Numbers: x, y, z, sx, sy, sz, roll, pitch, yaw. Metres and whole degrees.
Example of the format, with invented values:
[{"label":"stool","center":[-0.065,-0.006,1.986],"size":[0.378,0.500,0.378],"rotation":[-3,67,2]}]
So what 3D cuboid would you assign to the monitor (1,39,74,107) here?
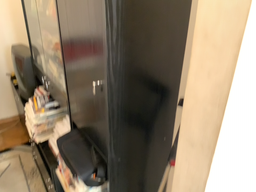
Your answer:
[{"label":"monitor","center":[-0.850,-0.250,2.020],"size":[0.440,0.430,0.500],"rotation":[-20,34,-35]}]
